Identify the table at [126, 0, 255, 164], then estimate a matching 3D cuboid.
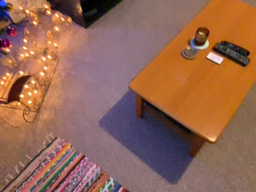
[{"bbox_3d":[0.550,-0.180,1.430,0.530,0.390,1.070,37,67,21],"label":"table"}]
